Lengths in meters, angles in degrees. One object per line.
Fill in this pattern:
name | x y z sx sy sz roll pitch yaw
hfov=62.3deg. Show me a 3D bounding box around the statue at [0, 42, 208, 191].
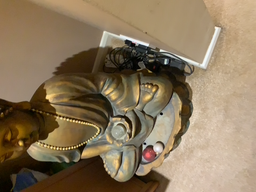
statue | -0.130 0.140 0.830 0.610 0.810 0.480 22 103 25
